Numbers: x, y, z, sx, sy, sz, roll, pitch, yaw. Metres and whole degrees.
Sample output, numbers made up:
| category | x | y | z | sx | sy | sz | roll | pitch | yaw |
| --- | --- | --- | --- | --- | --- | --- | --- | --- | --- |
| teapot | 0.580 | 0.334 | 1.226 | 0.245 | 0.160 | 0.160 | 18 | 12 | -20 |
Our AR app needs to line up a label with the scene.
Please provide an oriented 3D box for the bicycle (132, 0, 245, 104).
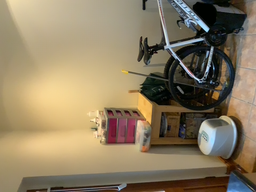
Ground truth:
| category | x | y | z | sx | sy | sz | roll | pitch | yaw |
| --- | --- | --- | --- | --- | --- | --- | --- | --- | --- |
| bicycle | 0.630 | -0.730 | 2.240 | 0.310 | 0.980 | 1.600 | -126 | 40 | -69 |
